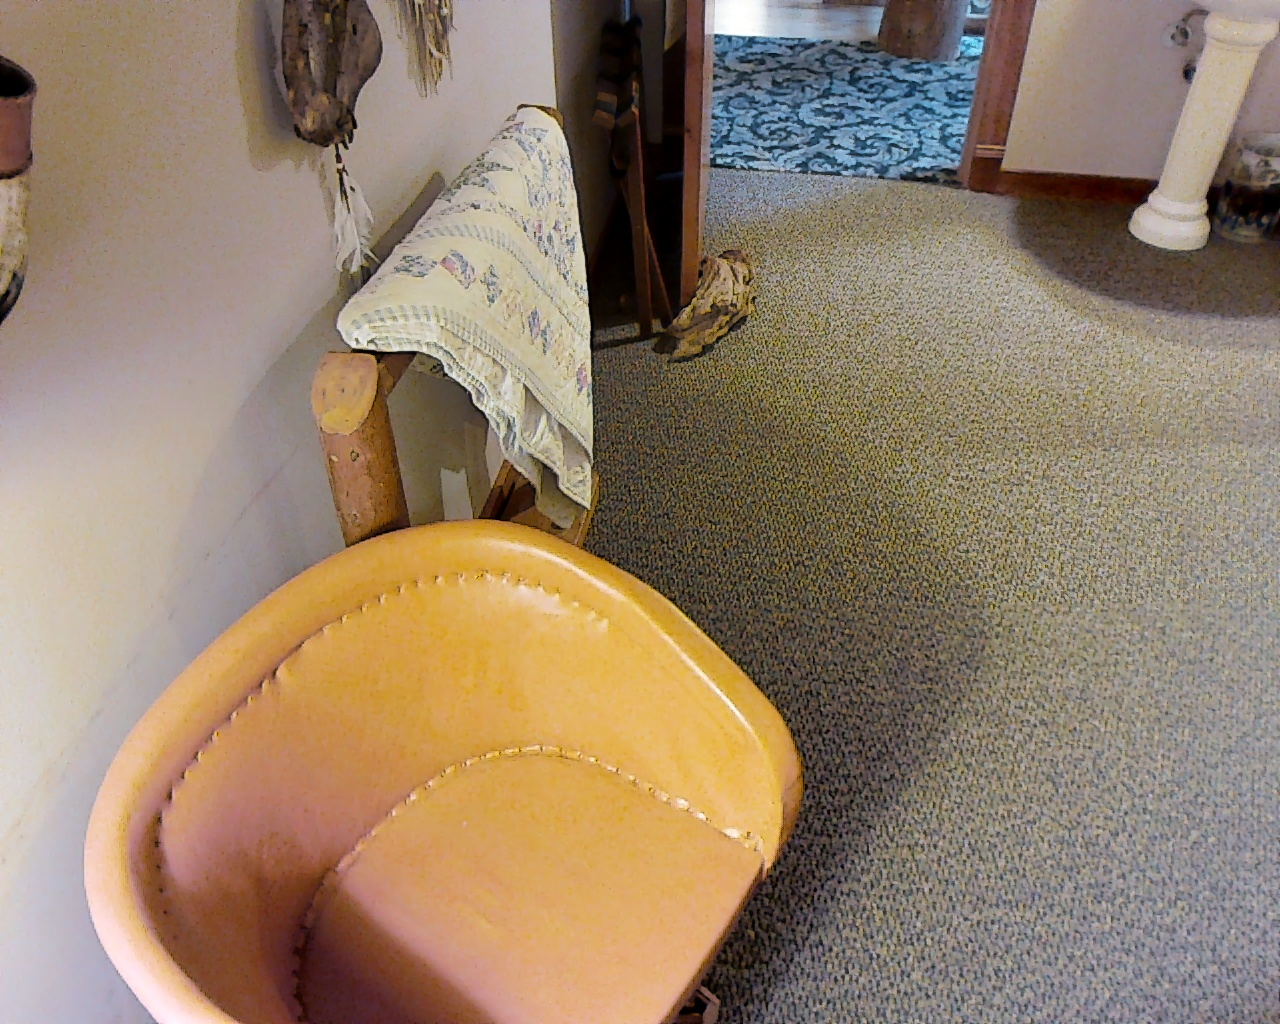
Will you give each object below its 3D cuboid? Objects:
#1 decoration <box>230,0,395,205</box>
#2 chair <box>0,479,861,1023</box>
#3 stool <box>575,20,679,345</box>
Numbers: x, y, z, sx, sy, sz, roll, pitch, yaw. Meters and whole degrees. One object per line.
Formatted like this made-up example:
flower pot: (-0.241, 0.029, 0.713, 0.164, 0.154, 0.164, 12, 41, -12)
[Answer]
decoration: (-0.390, -0.580, 1.300, 0.050, 0.310, 0.280, 6, 42, 7)
chair: (-0.180, 0.510, 1.260, 0.530, 0.730, 0.650, 26, 48, 27)
stool: (-0.020, -0.870, 2.850, 0.200, 0.660, 0.520, 4, 42, 5)
